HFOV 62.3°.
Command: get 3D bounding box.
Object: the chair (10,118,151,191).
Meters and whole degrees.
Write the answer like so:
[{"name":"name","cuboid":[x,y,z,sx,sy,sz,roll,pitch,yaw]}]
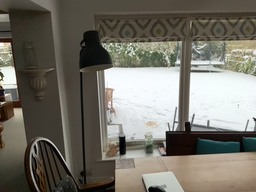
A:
[{"name":"chair","cuboid":[-0.210,0.780,1.350,0.630,1.130,0.540,-3,13,-4]}]
